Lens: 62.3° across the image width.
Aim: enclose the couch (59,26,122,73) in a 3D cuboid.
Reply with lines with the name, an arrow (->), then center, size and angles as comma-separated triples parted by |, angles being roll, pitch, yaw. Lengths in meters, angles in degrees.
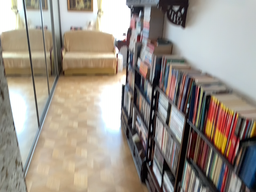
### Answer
couch -> -0.920, -1.170, 5.250 | 1.350, 0.920, 1.090 | -2, 23, -11
